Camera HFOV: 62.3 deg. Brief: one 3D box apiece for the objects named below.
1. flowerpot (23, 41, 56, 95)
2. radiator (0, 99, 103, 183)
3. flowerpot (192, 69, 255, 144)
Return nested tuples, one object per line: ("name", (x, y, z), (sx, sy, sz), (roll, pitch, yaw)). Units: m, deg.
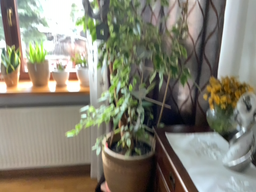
("flowerpot", (-0.800, -0.270, 1.960), (0.190, 0.440, 0.310), (-2, 19, -11))
("radiator", (-0.830, 0.420, 1.990), (1.160, 0.740, 0.150), (-2, 19, -10))
("flowerpot", (0.560, 0.040, 1.220), (0.220, 0.330, 0.320), (-1, 19, -9))
